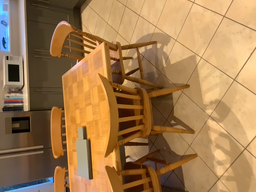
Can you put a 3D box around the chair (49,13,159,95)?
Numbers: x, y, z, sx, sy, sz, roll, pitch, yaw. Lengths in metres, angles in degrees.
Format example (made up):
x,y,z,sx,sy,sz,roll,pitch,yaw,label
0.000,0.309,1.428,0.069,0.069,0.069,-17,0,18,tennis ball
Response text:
x,y,z,sx,sy,sz,roll,pitch,yaw,label
-0.220,-0.320,2.000,0.500,0.860,0.550,-11,83,54,chair

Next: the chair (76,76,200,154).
x,y,z,sx,sy,sz,roll,pitch,yaw,label
0.080,0.130,1.640,0.500,0.800,0.440,-10,82,55,chair

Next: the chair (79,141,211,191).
x,y,z,sx,sy,sz,roll,pitch,yaw,label
0.130,0.650,1.580,0.540,0.810,0.480,-10,82,55,chair
